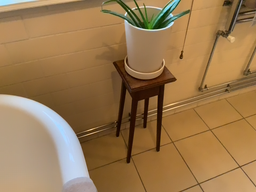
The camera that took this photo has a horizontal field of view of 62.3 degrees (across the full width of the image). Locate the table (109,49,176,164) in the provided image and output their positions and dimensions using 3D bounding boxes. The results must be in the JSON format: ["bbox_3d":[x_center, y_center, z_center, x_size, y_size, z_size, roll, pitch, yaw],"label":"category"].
[{"bbox_3d":[0.060,0.090,1.200,0.230,0.630,0.230,-17,47,-17],"label":"table"}]
